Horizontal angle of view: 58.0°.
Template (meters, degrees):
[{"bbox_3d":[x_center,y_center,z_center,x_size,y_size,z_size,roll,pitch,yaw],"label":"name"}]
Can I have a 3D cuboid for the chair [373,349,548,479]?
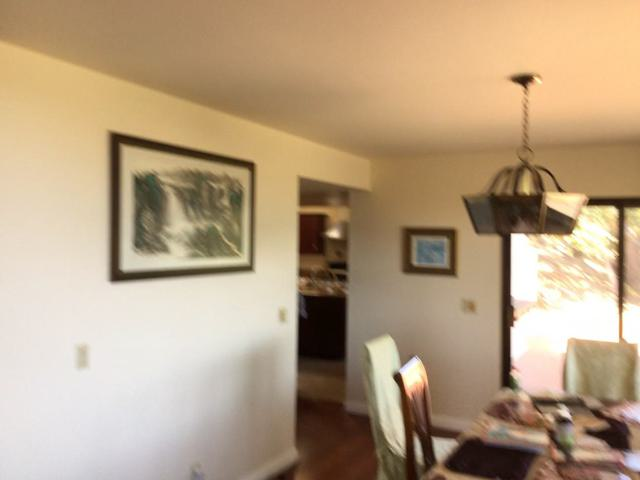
[{"bbox_3d":[0.670,1.090,2.660,0.650,1.050,0.600,-2,-2,27],"label":"chair"}]

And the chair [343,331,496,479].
[{"bbox_3d":[0.580,1.090,3.280,0.690,1.040,0.600,-2,-2,27],"label":"chair"}]

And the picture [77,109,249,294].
[{"bbox_3d":[-0.790,-0.160,3.190,0.120,0.840,1.230,-2,-2,27],"label":"picture"}]
